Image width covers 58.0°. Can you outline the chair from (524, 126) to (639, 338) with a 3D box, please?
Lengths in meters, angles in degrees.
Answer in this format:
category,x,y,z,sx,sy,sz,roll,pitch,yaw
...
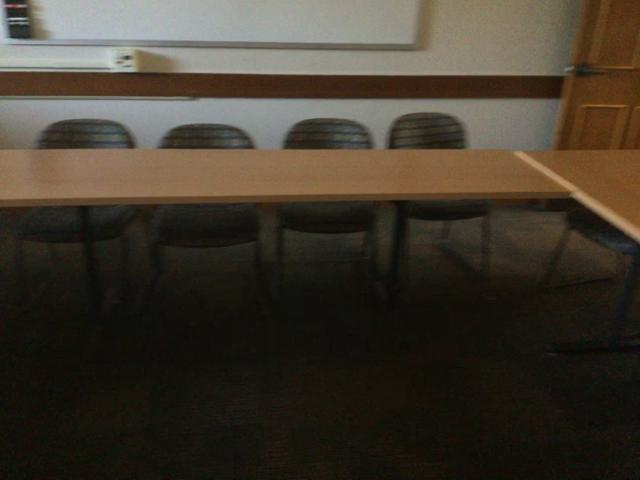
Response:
category,x,y,z,sx,sy,sz,roll,pitch,yaw
chair,1.350,-0.070,2.500,0.630,0.740,0.570,-4,21,-6

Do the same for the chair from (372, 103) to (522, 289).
category,x,y,z,sx,sy,sz,roll,pitch,yaw
chair,0.580,-0.250,2.870,0.510,0.750,0.640,-4,21,-6

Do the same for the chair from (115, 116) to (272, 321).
category,x,y,z,sx,sy,sz,roll,pitch,yaw
chair,-0.510,-0.120,2.530,0.540,0.740,0.530,-4,21,-6

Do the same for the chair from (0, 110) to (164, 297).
category,x,y,z,sx,sy,sz,roll,pitch,yaw
chair,-1.030,-0.190,2.510,0.540,0.640,0.590,-4,21,-6
